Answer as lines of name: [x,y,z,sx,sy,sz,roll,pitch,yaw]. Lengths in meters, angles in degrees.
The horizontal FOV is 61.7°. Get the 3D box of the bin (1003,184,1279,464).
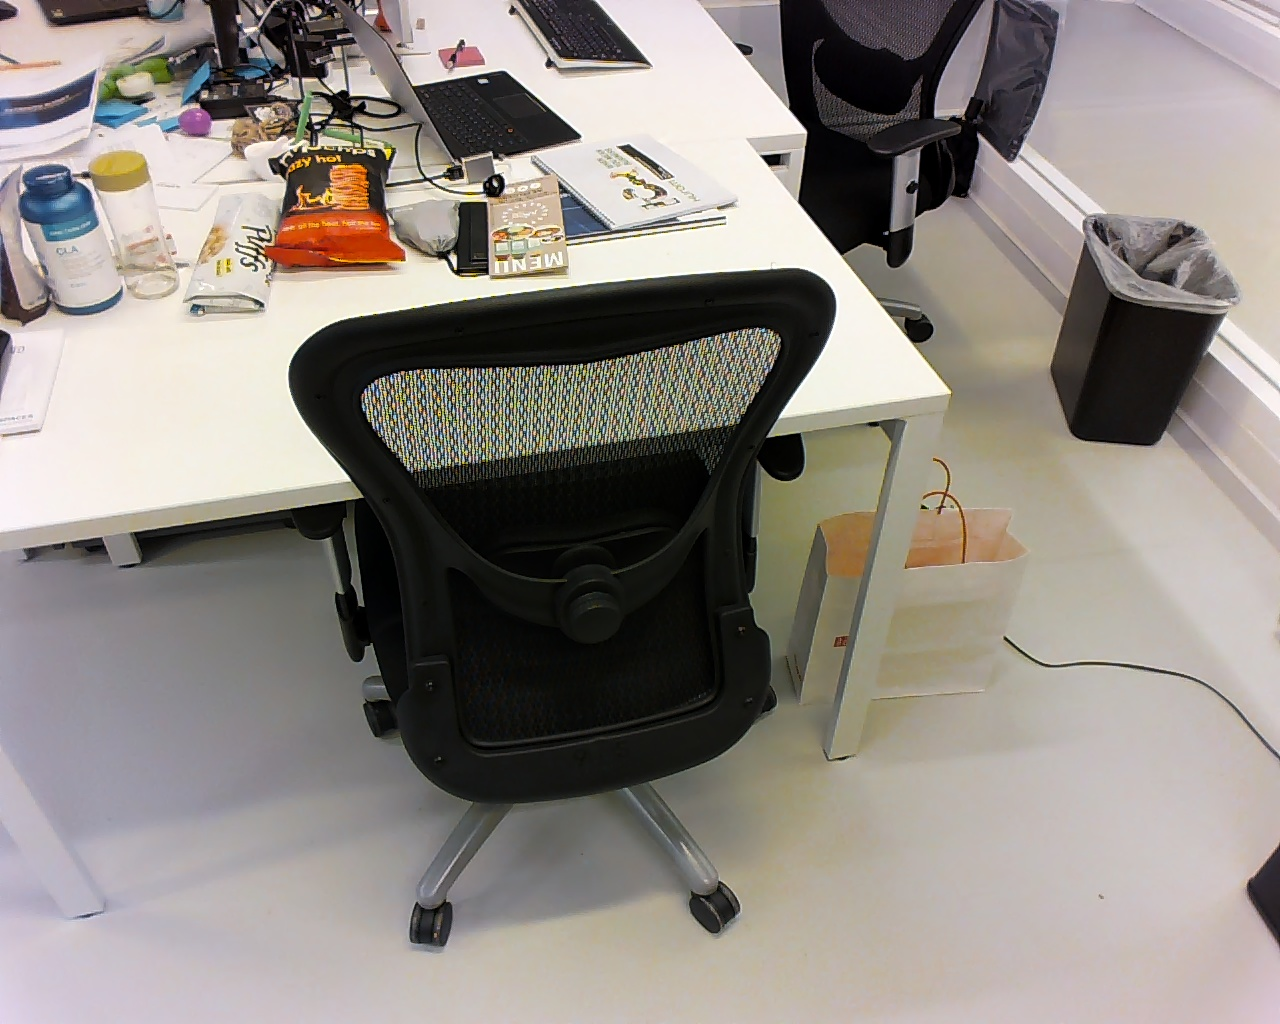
bin: [1.130,-0.430,2.400,0.350,0.390,0.480,-7,43,-9]

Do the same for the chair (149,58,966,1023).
chair: [-0.130,0.060,1.390,0.650,1.000,0.620,-10,44,-12]
